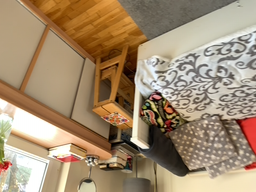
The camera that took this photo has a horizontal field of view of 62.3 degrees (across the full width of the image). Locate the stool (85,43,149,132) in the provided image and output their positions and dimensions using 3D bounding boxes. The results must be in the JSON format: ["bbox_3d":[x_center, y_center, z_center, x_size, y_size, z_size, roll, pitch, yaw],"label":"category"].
[{"bbox_3d":[-0.060,-0.060,1.790,0.310,0.560,0.410,-18,140,30],"label":"stool"}]

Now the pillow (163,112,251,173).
[{"bbox_3d":[0.590,0.380,1.620,0.520,0.280,0.360,-16,141,28],"label":"pillow"}]
